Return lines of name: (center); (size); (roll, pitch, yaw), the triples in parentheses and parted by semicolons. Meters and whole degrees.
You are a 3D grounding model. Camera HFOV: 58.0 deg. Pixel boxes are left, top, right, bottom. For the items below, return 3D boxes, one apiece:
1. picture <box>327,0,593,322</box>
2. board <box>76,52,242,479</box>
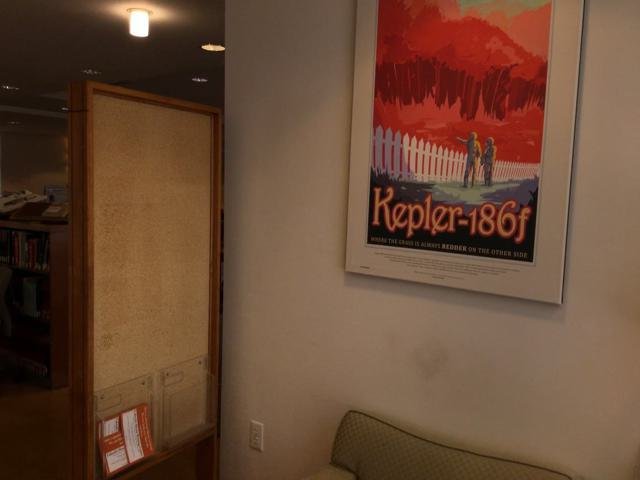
picture: (0.390, -0.340, 1.840); (0.830, 1.070, 0.060); (6, 5, 39)
board: (-0.580, 0.340, 2.170); (0.080, 1.880, 0.700); (6, 6, 30)
